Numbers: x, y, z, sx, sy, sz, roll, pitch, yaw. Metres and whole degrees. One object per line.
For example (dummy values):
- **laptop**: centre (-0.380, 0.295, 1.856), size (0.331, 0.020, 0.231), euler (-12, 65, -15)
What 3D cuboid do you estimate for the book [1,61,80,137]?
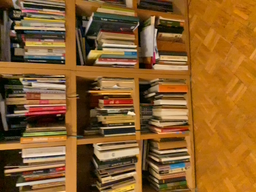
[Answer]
- **book**: centre (-0.500, 0.030, 1.260), size (0.300, 0.380, 0.380), euler (161, 108, -68)

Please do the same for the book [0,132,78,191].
- **book**: centre (-0.500, 0.400, 1.230), size (0.300, 0.370, 0.320), euler (172, 98, -69)

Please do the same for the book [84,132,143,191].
- **book**: centre (-0.100, 0.680, 1.360), size (0.290, 0.300, 0.850), euler (168, 101, -69)

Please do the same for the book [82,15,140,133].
- **book**: centre (-0.130, -0.120, 1.420), size (0.290, 0.300, 0.700), euler (161, 108, -68)
